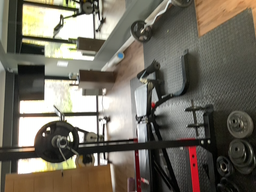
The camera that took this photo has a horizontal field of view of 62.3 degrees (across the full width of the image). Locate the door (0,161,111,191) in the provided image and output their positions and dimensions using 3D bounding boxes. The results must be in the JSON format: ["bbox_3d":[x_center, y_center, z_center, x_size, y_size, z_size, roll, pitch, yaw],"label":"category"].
[{"bbox_3d":[-1.340,1.890,4.070,0.130,2.090,1.020,145,123,-62],"label":"door"}]
